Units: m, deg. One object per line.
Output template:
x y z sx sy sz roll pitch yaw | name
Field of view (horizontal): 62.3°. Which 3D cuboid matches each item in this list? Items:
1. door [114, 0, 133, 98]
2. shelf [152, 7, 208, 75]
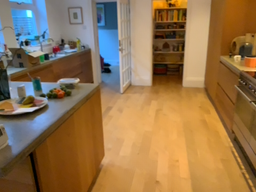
-0.070 -1.120 4.650 0.140 2.180 0.830 4 20 14 | door
1.430 -1.550 6.080 1.410 1.790 0.350 3 20 13 | shelf
